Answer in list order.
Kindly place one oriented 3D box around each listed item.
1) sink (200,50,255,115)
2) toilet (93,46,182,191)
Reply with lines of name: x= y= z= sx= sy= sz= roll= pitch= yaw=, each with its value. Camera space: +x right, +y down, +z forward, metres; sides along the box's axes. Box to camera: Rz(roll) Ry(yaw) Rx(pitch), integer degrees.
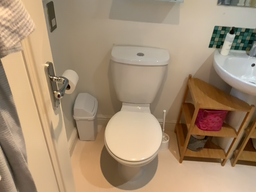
sink: x=0.820 y=-0.090 z=1.340 sx=0.590 sy=0.180 sz=0.450 roll=5 pitch=37 yaw=2
toilet: x=0.050 y=0.170 z=1.470 sx=0.410 sy=0.770 sz=0.680 roll=5 pitch=37 yaw=2
